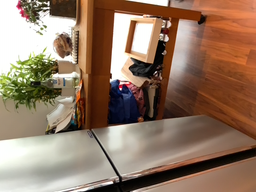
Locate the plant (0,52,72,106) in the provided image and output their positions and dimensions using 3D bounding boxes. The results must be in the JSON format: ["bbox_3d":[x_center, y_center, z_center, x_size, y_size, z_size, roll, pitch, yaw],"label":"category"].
[{"bbox_3d":[-0.680,-0.130,1.530,0.240,0.490,0.310,-139,51,-57],"label":"plant"}]

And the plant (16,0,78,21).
[{"bbox_3d":[-0.480,-0.620,1.250,0.250,0.320,0.300,-141,53,-58],"label":"plant"}]
